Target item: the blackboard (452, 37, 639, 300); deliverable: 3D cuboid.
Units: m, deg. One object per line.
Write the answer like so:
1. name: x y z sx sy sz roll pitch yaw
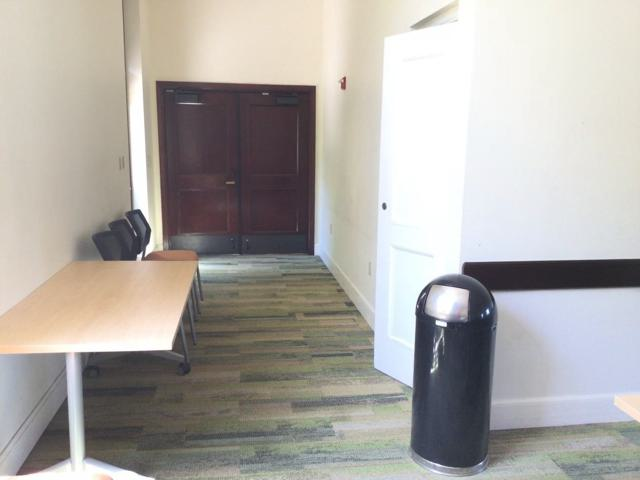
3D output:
1. blackboard: 1.430 -0.320 2.720 1.530 1.140 0.250 -1 9 -5

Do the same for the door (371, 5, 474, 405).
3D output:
1. door: 0.540 -0.170 3.250 0.070 2.060 0.650 -6 11 -35

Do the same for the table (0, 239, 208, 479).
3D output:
1. table: -1.000 0.500 2.890 0.740 0.750 1.620 -1 9 -7
